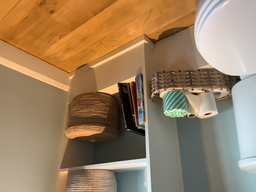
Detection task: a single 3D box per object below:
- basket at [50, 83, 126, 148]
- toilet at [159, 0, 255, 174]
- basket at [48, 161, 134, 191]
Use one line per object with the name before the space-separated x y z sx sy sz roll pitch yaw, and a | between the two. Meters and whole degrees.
basket | -0.260 0.160 1.470 0.320 0.300 0.380 -18 151 33
toilet | 0.470 -0.170 0.770 0.400 0.800 0.690 -18 150 34
basket | -0.220 0.590 1.290 0.370 0.310 0.360 -19 150 35
